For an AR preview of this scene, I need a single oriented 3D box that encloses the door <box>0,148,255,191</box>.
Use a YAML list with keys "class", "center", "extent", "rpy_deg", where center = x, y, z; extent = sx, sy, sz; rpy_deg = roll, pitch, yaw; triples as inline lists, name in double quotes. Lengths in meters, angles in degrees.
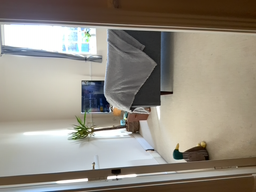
- class: "door"
  center: [-0.240, 0.530, 1.460]
  extent: [0.960, 2.040, 0.180]
  rpy_deg: [123, 145, -70]
